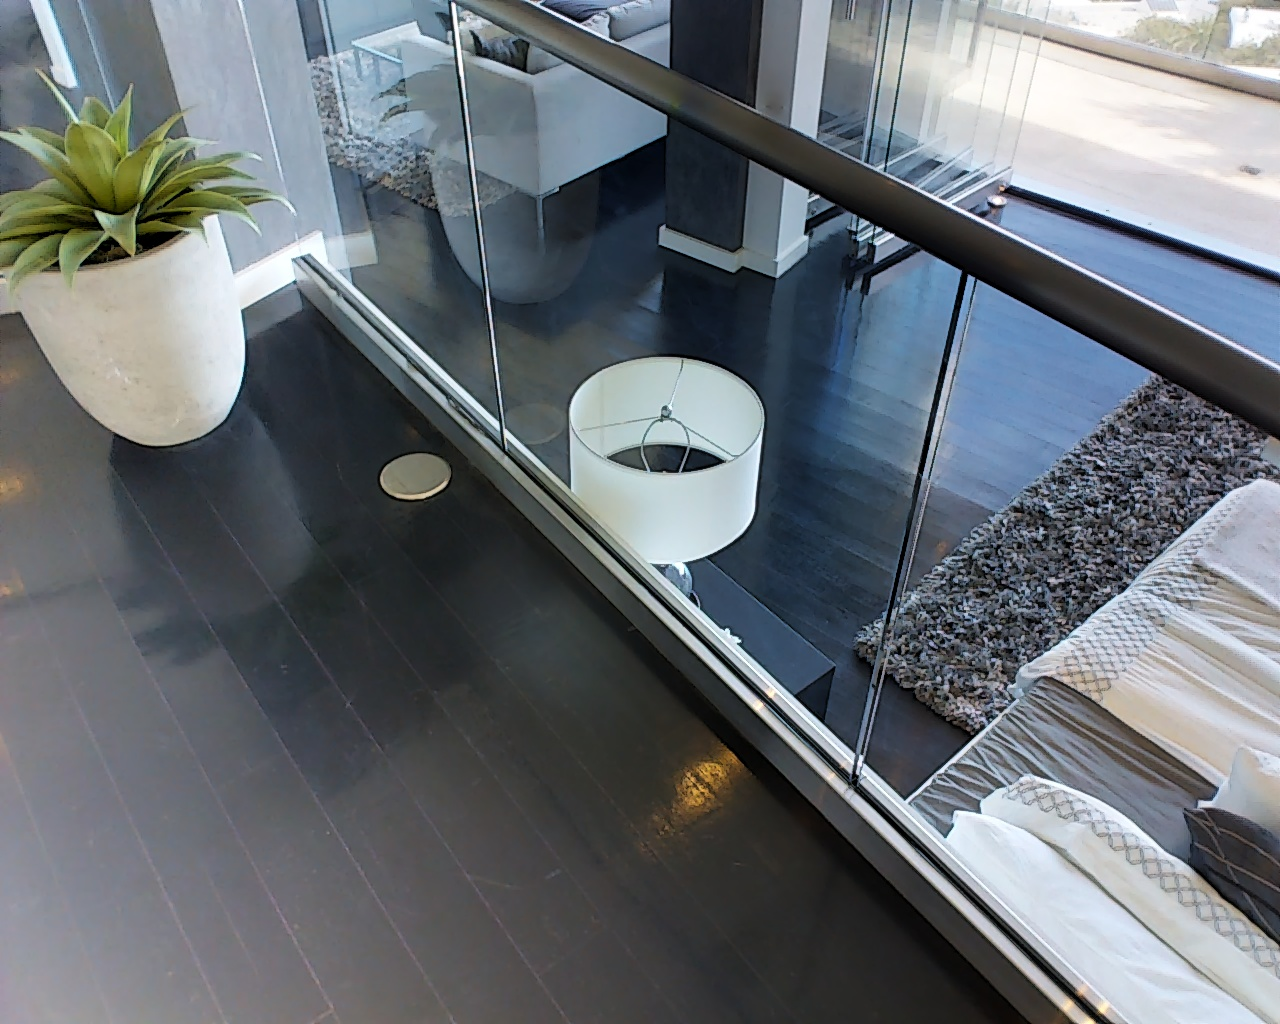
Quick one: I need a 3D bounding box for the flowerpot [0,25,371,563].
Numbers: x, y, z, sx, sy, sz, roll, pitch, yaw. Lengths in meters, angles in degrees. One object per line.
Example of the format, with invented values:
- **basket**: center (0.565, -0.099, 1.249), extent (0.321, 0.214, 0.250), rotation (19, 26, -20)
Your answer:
- **flowerpot**: center (-1.060, -0.480, 2.280), extent (0.650, 0.760, 0.660), rotation (-22, 47, -22)
